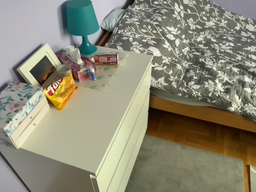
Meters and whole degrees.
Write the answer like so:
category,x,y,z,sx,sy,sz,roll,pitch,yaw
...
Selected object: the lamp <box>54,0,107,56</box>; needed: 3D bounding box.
category,x,y,z,sx,sy,sz,roll,pitch,yaw
lamp,-0.260,-0.430,1.250,0.190,0.290,0.210,12,45,13
